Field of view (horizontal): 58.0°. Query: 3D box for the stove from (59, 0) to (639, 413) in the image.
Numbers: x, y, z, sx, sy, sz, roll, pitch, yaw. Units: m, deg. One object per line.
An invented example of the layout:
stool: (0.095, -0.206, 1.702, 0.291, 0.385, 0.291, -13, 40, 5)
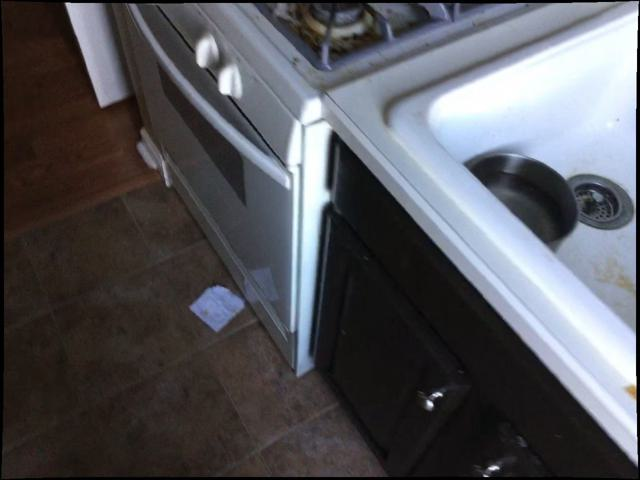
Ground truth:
stove: (-0.030, -0.411, 1.260, 0.749, 1.151, 0.970, -28, 63, -22)

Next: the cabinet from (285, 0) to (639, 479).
cabinet: (0.429, 0.211, 1.050, 0.659, 0.851, 0.750, -28, 63, -22)
